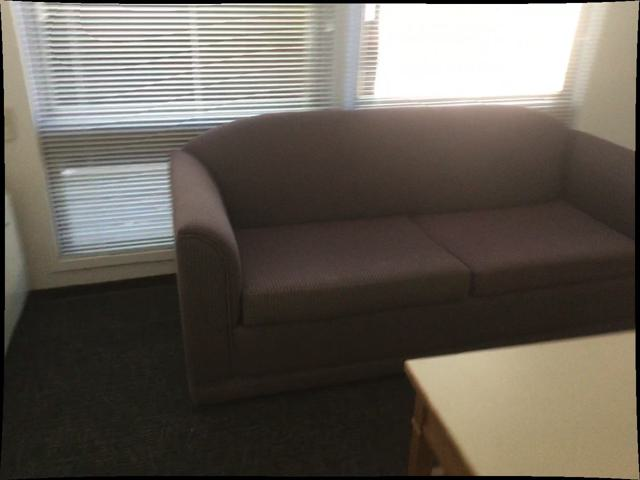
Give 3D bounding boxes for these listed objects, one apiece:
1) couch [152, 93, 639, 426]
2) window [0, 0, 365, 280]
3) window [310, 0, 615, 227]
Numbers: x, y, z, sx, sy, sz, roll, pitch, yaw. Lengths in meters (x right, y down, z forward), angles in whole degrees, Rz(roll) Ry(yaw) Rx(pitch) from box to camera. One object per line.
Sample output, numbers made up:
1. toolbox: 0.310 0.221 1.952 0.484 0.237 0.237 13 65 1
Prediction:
1. couch: 0.319 -0.070 2.280 1.817 0.761 1.030 -5 27 -14
2. window: -0.499 -0.881 2.210 1.278 2.013 0.380 -5 27 -14
3. window: 0.629 -1.052 2.500 1.258 1.923 0.340 -5 27 -14
